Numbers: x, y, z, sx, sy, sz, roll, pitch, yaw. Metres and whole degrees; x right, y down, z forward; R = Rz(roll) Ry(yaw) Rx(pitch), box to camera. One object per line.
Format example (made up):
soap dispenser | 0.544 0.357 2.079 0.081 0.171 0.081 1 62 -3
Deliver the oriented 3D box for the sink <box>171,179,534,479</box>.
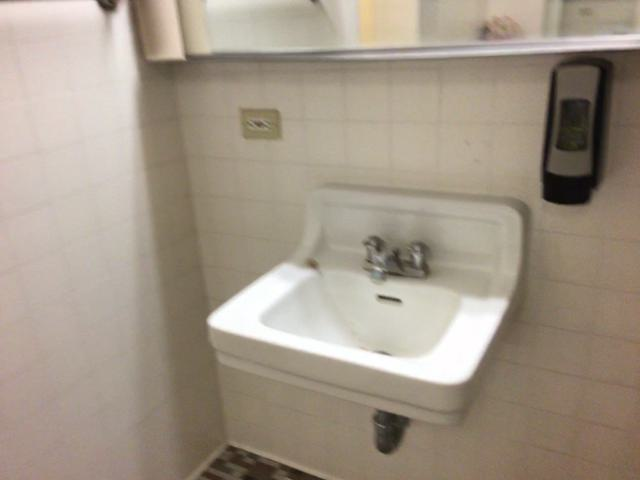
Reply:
sink | 0.090 0.120 1.150 0.540 0.350 0.450 7 23 29
